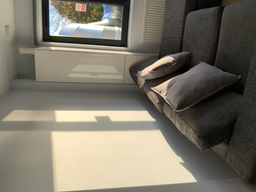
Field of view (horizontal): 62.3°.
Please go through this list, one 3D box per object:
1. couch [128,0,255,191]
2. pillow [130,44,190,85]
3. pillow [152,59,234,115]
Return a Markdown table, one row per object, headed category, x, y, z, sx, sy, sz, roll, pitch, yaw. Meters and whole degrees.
| category | x | y | z | sx | sy | sz | roll | pitch | yaw |
| --- | --- | --- | --- | --- | --- | --- | --- | --- | --- |
| couch | 0.670 | -0.300 | 2.050 | 2.190 | 0.830 | 1.150 | -122 | 35 | -69 |
| pillow | 0.380 | -0.330 | 2.330 | 0.540 | 0.520 | 0.220 | 13 | -86 | -70 |
| pillow | 0.510 | -0.110 | 1.700 | 0.550 | 0.510 | 0.200 | -45 | -34 | -64 |
